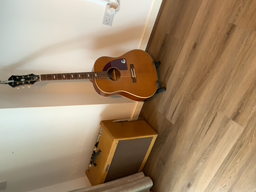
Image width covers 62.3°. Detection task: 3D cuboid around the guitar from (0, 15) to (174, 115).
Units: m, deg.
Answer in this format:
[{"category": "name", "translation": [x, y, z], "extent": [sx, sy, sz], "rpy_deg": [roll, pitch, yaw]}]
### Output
[{"category": "guitar", "translation": [-0.280, -0.150, 1.640], "extent": [0.380, 1.230, 0.460], "rpy_deg": [-34, 56, 55]}]
